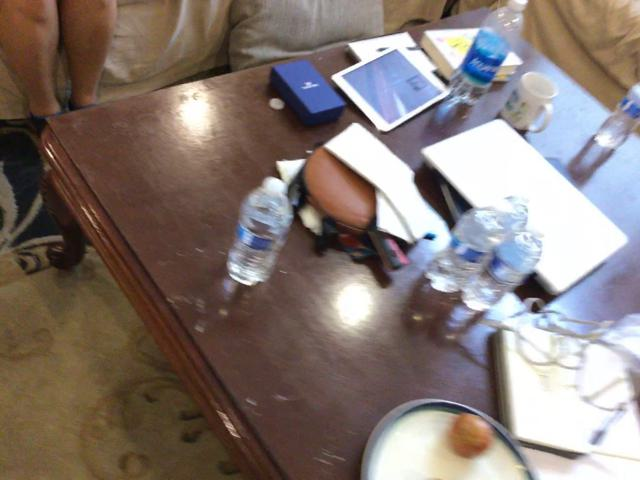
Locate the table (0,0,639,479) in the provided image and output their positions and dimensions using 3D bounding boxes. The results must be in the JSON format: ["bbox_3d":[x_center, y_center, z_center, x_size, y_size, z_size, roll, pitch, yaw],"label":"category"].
[{"bbox_3d":[0.270,0.010,1.230,1.330,0.460,1.050,-27,68,-33],"label":"table"}]

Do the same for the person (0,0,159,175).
[{"bbox_3d":[-0.540,-0.400,1.270,0.310,0.470,0.150,-27,68,-33],"label":"person"}]

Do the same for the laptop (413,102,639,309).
[{"bbox_3d":[0.420,-0.090,1.130,0.330,0.050,0.360,-28,68,-33],"label":"laptop"}]

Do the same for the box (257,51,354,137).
[{"bbox_3d":[-0.030,-0.290,1.140,0.110,0.050,0.160,-28,68,-33],"label":"box"}]
